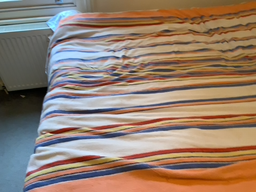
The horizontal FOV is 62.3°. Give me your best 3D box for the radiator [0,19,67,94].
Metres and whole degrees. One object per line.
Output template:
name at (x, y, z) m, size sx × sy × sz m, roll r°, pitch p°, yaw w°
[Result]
radiator at (-0.750, -0.280, 1.610) m, size 0.460 × 0.530 × 0.140 m, roll -6°, pitch 43°, yaw -7°
